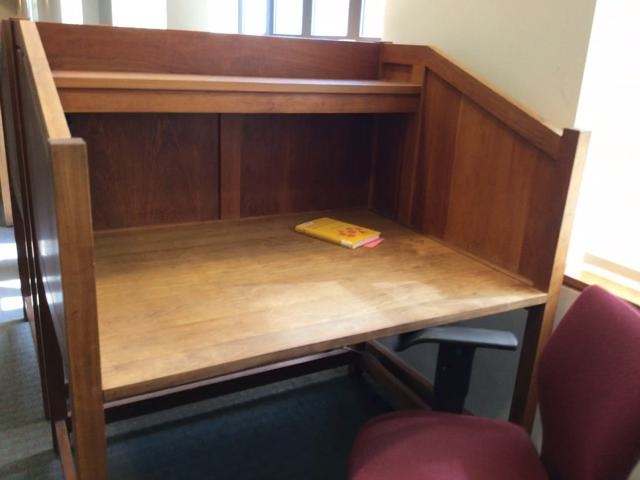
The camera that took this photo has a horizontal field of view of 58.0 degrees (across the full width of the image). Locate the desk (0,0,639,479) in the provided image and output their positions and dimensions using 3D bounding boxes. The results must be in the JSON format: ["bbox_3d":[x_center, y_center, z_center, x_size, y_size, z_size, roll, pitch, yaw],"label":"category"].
[{"bbox_3d":[-0.090,0.120,1.660,1.310,1.380,0.990,-7,23,-30],"label":"desk"}]

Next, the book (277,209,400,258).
[{"bbox_3d":[0.060,-0.030,1.900,0.300,0.030,0.270,21,25,37],"label":"book"}]
